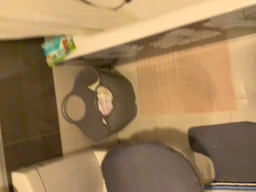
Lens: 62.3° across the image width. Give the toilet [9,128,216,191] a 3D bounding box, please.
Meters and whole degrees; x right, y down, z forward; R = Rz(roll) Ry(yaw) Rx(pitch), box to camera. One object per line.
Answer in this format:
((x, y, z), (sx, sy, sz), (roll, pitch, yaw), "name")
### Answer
((0.010, 0.430, 1.040), (0.640, 0.790, 0.390), (-7, 90, 31), "toilet")
